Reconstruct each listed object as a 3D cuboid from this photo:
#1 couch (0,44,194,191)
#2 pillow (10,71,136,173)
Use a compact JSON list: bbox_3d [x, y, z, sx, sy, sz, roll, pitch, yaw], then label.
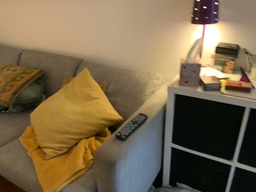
[{"bbox_3d":[-0.830,0.100,1.790,2.440,0.680,0.920,13,31,27],"label":"couch"},{"bbox_3d":[-0.290,0.100,1.360,0.450,0.260,0.630,12,31,25],"label":"pillow"}]
